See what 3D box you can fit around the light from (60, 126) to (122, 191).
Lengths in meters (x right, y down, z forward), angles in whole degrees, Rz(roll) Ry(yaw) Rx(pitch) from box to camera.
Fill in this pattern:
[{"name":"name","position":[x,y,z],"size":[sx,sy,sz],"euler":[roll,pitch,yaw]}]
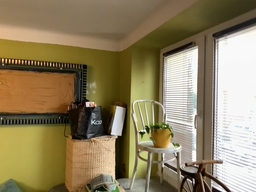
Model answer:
[{"name":"light","position":[-0.410,0.670,2.280],"size":[0.590,0.630,0.380],"euler":[2,-1,-20]}]
